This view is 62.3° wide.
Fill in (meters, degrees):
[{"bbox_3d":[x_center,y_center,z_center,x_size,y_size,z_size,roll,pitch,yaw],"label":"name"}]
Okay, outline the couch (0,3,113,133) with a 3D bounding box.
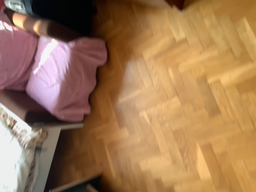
[{"bbox_3d":[-0.670,-0.220,1.610,0.680,0.650,0.680,27,102,32],"label":"couch"}]
